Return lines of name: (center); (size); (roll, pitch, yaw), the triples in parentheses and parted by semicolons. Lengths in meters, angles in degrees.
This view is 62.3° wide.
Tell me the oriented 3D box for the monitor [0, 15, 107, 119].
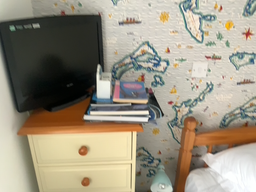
monitor: (-0.260, -0.150, 0.900); (0.020, 0.340, 0.480); (18, 29, 32)
